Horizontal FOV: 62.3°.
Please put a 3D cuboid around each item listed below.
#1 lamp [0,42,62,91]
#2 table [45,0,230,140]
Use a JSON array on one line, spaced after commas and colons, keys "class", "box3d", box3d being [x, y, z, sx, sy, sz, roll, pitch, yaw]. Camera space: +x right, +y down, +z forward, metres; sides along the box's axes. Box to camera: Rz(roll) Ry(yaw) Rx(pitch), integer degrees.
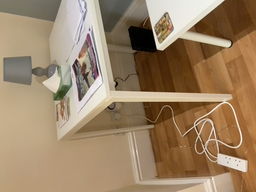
[{"class": "lamp", "box3d": [-0.590, -0.160, 1.260, 0.210, 0.320, 0.190, -37, 59, 51]}, {"class": "table", "box3d": [-0.040, -0.230, 1.340, 0.790, 0.720, 0.790, -33, 63, 53]}]
